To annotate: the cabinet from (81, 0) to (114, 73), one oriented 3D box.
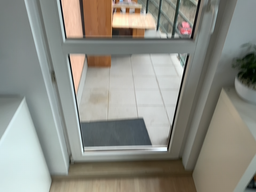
[{"bbox_3d":[-0.370,-0.990,2.850,0.340,1.130,0.710,1,37,-2],"label":"cabinet"}]
